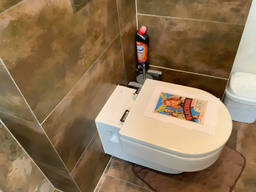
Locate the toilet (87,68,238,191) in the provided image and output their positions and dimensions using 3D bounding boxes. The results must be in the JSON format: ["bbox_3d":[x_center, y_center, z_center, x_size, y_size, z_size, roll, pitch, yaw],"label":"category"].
[{"bbox_3d":[0.180,0.200,1.100,0.580,0.440,0.390,14,48,19],"label":"toilet"}]
